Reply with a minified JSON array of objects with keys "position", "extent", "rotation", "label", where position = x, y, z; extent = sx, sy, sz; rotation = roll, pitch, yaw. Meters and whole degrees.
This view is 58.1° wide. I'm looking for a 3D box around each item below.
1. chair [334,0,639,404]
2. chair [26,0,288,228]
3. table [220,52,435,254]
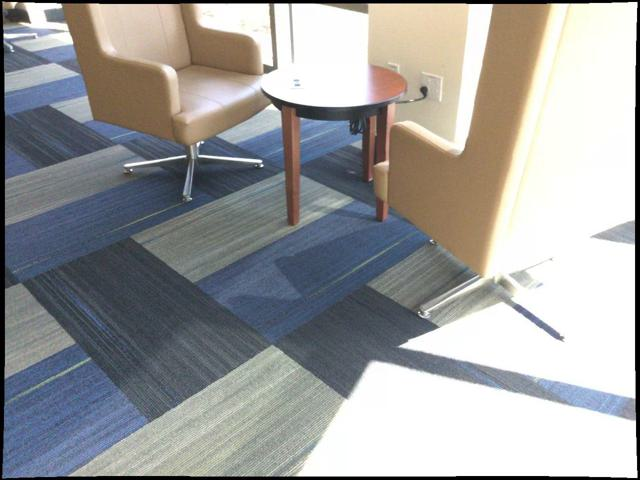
[{"position":[0.618,-0.311,1.870],"extent":[0.829,1.162,0.820],"rotation":[-19,37,-26],"label":"chair"},{"position":[-0.698,-0.822,2.700],"extent":[0.729,1.152,0.800],"rotation":[17,37,25],"label":"chair"},{"position":[0.040,-0.431,2.590],"extent":[0.629,0.571,0.659],"rotation":[27,42,35],"label":"table"}]
